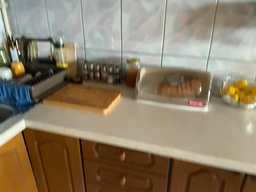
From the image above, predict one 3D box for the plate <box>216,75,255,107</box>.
[{"bbox_3d":[0.580,-0.030,1.100,0.190,0.070,0.210,6,26,12],"label":"plate"}]
